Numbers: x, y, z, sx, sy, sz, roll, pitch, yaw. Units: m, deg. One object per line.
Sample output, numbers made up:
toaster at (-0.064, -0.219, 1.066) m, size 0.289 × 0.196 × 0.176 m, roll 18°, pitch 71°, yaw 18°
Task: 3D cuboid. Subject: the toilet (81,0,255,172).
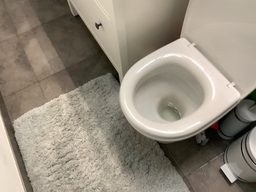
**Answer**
toilet at (0.240, -0.080, 0.820) m, size 0.580 × 0.770 × 0.370 m, roll -28°, pitch 65°, yaw -11°
